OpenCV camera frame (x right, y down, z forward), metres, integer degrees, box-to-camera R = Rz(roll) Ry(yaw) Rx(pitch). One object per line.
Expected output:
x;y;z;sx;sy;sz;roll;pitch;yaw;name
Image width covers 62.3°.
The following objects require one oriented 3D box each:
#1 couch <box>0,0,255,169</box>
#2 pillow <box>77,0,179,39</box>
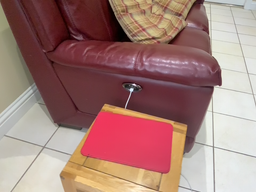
0.100;-0.630;1.520;1.730;1.040;0.990;-68;166;-49;couch
0.080;-0.580;1.300;0.160;0.550;0.550;66;31;-18;pillow
